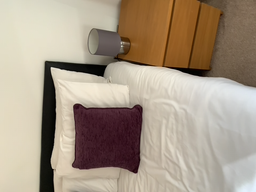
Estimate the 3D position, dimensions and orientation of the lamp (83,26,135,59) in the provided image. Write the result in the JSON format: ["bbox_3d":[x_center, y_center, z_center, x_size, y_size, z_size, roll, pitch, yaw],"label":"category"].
[{"bbox_3d":[-0.130,-0.350,1.400,0.230,0.250,0.170,20,107,51],"label":"lamp"}]
